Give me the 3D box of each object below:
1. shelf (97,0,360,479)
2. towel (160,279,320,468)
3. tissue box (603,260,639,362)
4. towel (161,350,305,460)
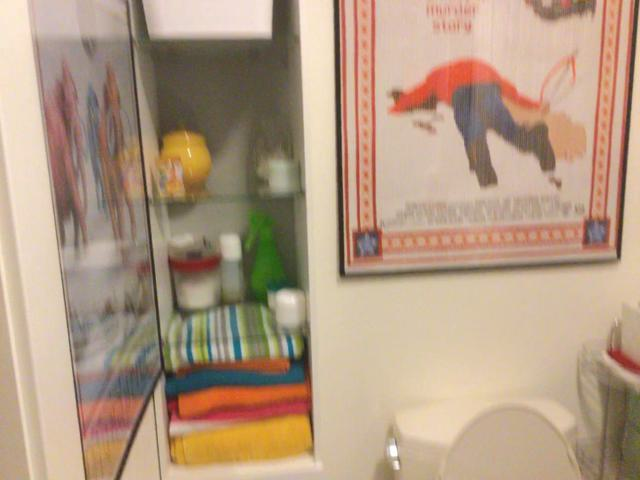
[{"bbox_3d":[-0.150,0.310,1.130,0.380,1.790,0.390,0,8,-4],"label":"shelf"},{"bbox_3d":[-0.150,0.250,1.160,0.280,0.300,0.240,0,8,-4],"label":"towel"},{"bbox_3d":[0.790,0.160,1.320,0.180,0.200,0.180,0,8,-4],"label":"tissue box"},{"bbox_3d":[-0.160,0.310,1.090,0.260,0.190,0.050,0,8,-4],"label":"towel"}]
